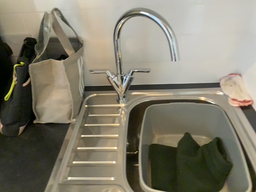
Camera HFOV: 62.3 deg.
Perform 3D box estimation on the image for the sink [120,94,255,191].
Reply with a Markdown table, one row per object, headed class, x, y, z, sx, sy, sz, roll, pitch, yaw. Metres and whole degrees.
| class | x | y | z | sx | sy | sz | roll | pitch | yaw |
| --- | --- | --- | --- | --- | --- | --- | --- | --- | --- |
| sink | 0.160 | 0.200 | 0.670 | 0.340 | 0.170 | 0.470 | -1 | 36 | 3 |
